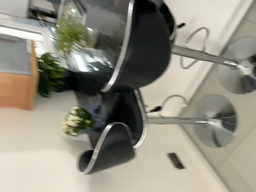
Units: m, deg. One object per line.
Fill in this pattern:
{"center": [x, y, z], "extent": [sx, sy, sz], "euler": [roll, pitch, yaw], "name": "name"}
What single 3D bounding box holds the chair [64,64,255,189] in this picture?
{"center": [0.220, 0.190, 1.410], "extent": [0.450, 1.110, 0.480], "euler": [58, 133, 45], "name": "chair"}
